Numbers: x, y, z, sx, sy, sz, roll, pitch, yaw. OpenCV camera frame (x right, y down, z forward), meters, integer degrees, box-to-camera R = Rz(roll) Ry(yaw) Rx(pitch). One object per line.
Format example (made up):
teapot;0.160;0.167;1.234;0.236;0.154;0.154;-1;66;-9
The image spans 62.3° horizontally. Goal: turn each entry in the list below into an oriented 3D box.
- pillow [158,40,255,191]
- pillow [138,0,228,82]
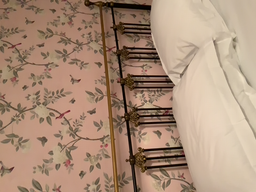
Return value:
pillow;0.420;0.180;1.000;0.440;0.270;0.780;108;157;-55
pillow;0.290;-0.510;1.370;0.370;0.250;0.760;109;156;-56
